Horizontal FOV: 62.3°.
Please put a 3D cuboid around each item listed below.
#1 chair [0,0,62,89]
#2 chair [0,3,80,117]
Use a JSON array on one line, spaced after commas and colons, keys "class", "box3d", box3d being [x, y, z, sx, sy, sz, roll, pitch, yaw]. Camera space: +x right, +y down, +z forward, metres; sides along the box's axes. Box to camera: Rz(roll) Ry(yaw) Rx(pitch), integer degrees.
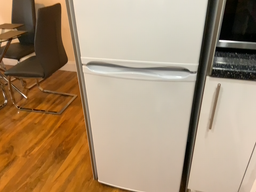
[{"class": "chair", "box3d": [-1.270, -0.680, 2.690, 0.450, 1.010, 0.530, 7, 31, 14]}, {"class": "chair", "box3d": [-0.930, -0.370, 2.160, 0.570, 1.010, 0.450, 7, 32, 15]}]
